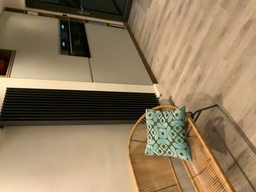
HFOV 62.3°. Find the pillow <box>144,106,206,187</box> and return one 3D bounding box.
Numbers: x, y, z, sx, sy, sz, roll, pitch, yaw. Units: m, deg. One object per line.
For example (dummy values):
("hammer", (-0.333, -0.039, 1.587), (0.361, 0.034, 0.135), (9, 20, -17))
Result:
("pillow", (0.430, 0.460, 1.950), (0.260, 0.450, 0.530), (-31, 114, 28))
